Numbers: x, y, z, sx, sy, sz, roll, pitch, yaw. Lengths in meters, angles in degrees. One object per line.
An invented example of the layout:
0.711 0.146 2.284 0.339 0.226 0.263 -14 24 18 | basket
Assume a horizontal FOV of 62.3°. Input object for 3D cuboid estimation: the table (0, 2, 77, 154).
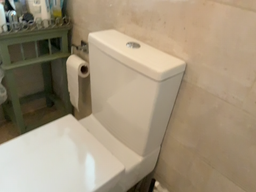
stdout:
-0.570 -0.110 1.270 0.370 0.760 0.360 -22 43 -37 | table
